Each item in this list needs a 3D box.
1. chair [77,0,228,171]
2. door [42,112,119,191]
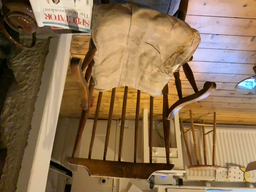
[{"bbox_3d":[0.050,-0.110,1.100,0.500,0.870,0.550,7,154,-10],"label":"chair"},{"bbox_3d":[-0.600,1.220,2.600,0.880,2.100,0.110,3,155,-3],"label":"door"}]
